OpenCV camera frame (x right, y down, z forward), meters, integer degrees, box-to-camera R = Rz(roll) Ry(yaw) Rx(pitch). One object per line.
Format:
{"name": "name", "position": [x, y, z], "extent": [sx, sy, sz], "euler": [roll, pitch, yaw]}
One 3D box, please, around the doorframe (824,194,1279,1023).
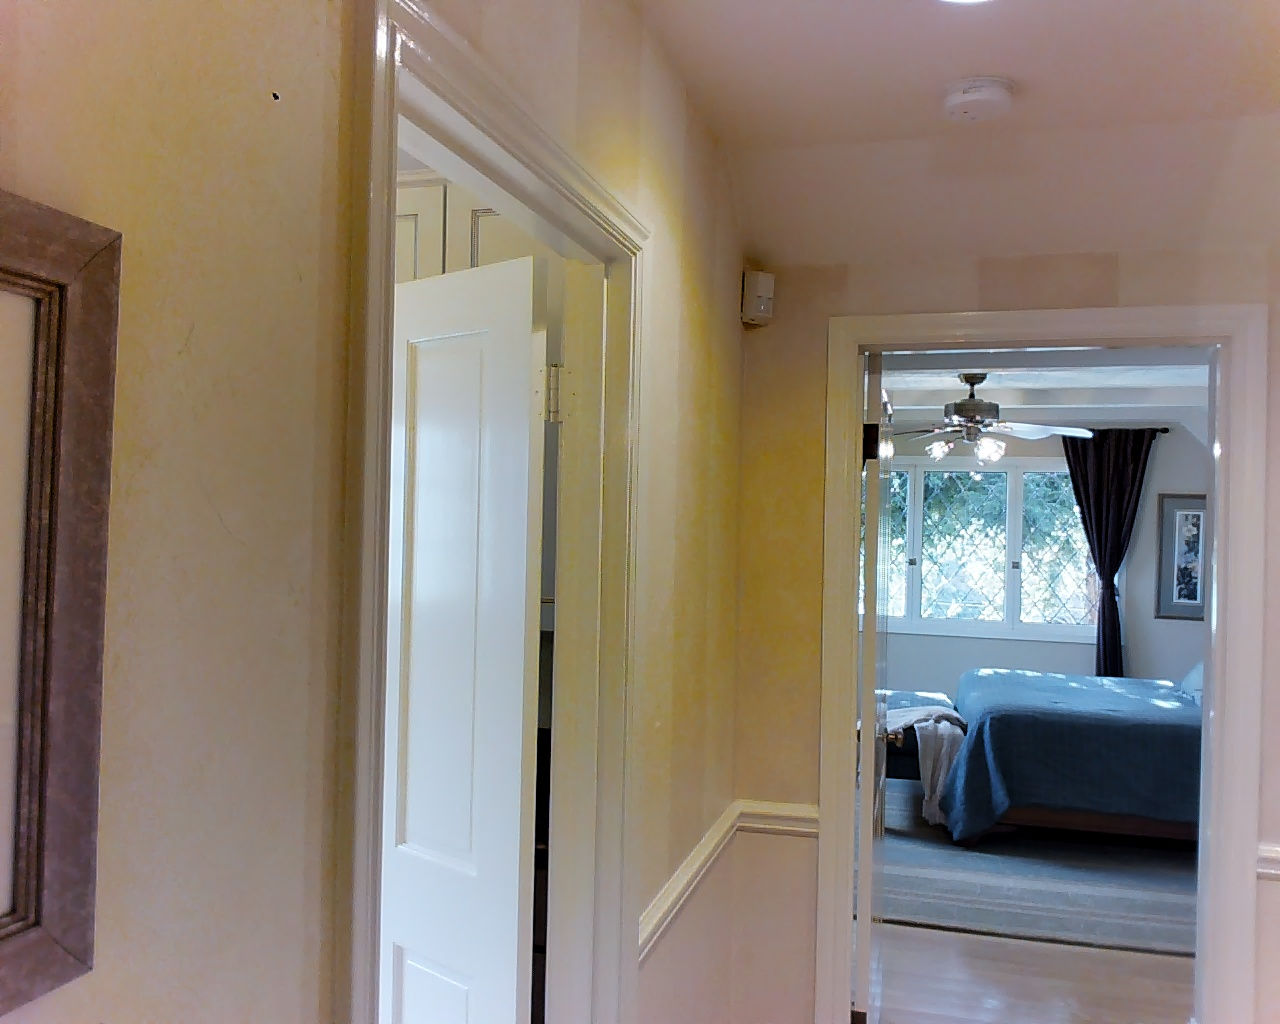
{"name": "doorframe", "position": [0.970, 0.460, 2.540], "extent": [1.010, 2.310, 0.190], "euler": [1, 0, 17]}

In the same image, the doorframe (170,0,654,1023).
{"name": "doorframe", "position": [-0.210, 0.540, 1.390], "extent": [0.170, 2.110, 0.940], "euler": [1, 0, 16]}
